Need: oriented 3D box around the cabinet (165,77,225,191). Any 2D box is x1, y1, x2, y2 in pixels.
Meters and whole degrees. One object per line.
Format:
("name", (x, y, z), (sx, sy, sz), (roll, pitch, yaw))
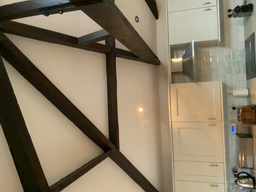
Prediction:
("cabinet", (1.060, 0.780, 3.390), (0.360, 0.810, 2.100), (-2, -90, -73))
